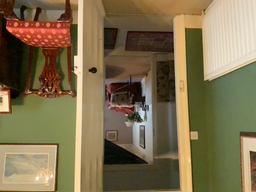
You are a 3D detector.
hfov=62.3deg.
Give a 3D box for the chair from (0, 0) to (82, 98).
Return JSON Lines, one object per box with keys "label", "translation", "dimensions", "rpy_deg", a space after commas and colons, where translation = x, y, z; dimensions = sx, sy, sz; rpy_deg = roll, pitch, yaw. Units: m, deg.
{"label": "chair", "translation": [-0.790, -0.510, 2.030], "dimensions": [0.560, 0.990, 0.550], "rpy_deg": [0, 173, -2]}
